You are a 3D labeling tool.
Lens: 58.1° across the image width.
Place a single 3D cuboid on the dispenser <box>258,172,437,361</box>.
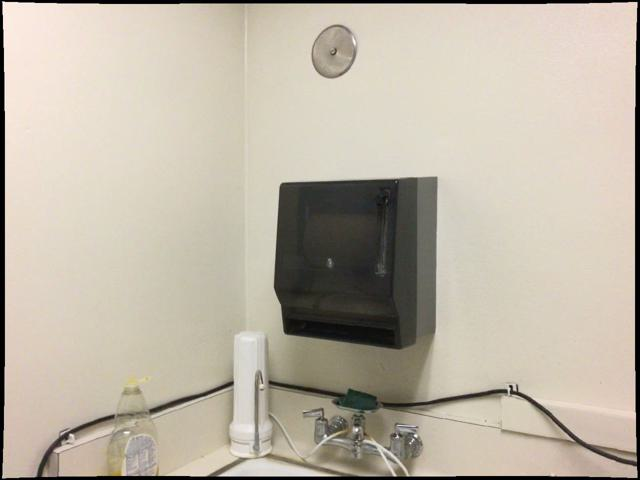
[{"bbox_3d":[0.070,0.050,1.390,0.339,0.391,0.260,2,1,31],"label":"dispenser"}]
